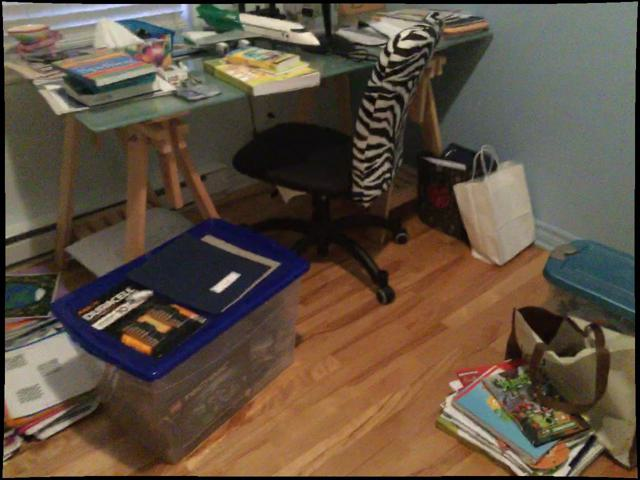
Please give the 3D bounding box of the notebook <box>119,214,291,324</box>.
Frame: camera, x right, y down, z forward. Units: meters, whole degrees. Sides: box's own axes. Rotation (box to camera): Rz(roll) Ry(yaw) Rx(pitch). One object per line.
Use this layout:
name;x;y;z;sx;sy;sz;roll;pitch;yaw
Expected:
notebook;-0.300;0.060;1.530;0.330;0.040;0.300;20;39;28

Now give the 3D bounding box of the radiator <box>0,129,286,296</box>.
radiator;-0.759;-0.110;2.250;1.479;0.230;0.110;-26;41;-32

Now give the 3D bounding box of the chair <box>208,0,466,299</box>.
chair;0.060;-0.350;1.940;0.620;0.831;0.450;18;38;26
